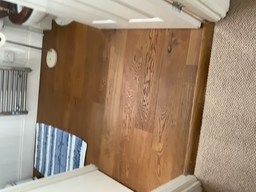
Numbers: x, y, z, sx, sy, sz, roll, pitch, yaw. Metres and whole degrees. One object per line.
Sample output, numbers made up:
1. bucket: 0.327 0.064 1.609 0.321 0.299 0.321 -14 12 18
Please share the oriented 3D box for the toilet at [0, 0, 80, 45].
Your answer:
1. toilet: -0.900 -0.720 1.590 0.660 0.810 0.520 12 97 42
